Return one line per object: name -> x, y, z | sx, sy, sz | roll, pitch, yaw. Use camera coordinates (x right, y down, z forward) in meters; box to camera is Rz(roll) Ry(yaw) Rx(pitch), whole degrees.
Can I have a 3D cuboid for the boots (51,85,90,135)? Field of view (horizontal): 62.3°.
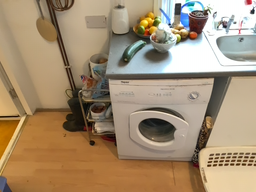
boots -> -0.500, 0.130, 1.910 | 0.210, 0.400, 0.230 | -2, 42, 2
